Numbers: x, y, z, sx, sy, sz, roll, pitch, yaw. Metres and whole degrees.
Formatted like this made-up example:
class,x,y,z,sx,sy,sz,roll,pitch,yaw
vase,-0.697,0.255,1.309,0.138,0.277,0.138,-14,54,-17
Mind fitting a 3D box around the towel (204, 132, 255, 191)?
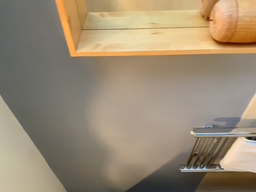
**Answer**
class,x,y,z,sx,sy,sz,roll,pitch,yaw
towel,0.810,0.420,1.270,0.530,0.530,0.170,89,-179,-51
